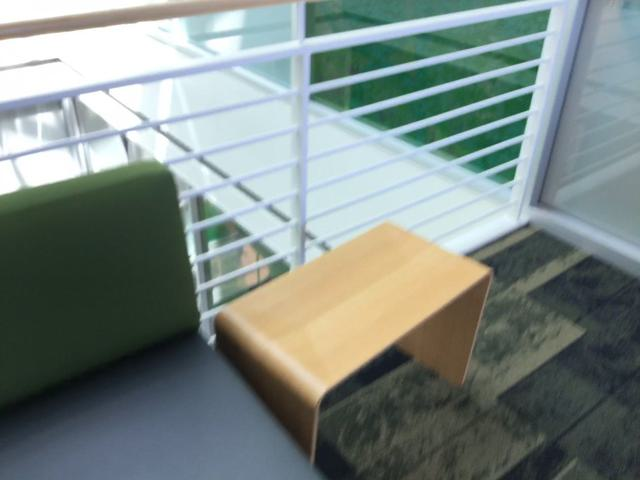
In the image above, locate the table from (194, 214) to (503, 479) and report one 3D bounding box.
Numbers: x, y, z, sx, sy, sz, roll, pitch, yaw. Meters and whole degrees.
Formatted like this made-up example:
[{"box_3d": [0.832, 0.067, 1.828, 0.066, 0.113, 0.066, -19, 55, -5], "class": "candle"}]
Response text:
[{"box_3d": [0.100, 0.300, 1.530, 0.700, 0.450, 0.380, -25, 36, -36], "class": "table"}]
